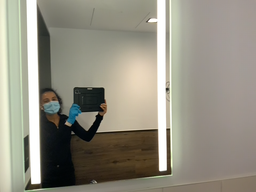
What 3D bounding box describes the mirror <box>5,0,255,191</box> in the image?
[{"bbox_3d":[0.200,0.030,0.920,1.290,1.320,0.050,-1,2,-14],"label":"mirror"}]
